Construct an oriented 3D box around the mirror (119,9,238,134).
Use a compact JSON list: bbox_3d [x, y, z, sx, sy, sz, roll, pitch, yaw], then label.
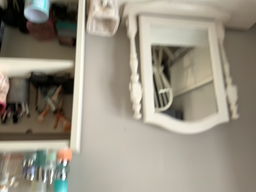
[{"bbox_3d":[0.220,-0.120,1.030,0.500,0.580,0.110,1,163,-11],"label":"mirror"}]
